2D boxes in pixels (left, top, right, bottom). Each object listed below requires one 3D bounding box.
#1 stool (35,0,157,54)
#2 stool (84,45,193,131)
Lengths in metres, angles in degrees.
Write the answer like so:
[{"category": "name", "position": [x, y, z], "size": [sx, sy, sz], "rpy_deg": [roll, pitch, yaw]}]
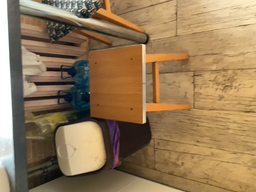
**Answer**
[{"category": "stool", "position": [-0.170, -0.500, 1.190], "size": [0.380, 0.510, 0.360], "rpy_deg": [-19, 82, 37]}, {"category": "stool", "position": [0.070, -0.050, 1.070], "size": [0.340, 0.460, 0.320], "rpy_deg": [4, 96, 37]}]
